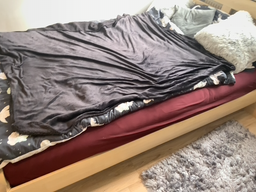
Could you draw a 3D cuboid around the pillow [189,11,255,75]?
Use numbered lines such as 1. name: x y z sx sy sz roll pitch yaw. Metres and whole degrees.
1. pillow: 0.920 -0.490 1.840 0.490 0.260 0.520 -18 47 -24
